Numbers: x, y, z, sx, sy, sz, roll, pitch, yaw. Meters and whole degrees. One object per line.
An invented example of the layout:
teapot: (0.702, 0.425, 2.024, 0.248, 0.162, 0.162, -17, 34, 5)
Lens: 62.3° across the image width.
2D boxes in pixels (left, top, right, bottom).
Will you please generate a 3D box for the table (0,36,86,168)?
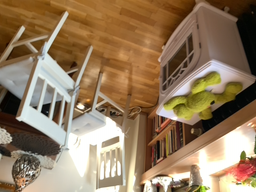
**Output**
table: (-0.800, 0.090, 1.820, 0.590, 0.740, 0.730, 16, 143, -12)

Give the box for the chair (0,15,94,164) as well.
chair: (-0.660, -0.050, 1.460, 0.560, 0.890, 0.400, -9, 141, 21)

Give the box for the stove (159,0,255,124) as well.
stove: (0.430, -0.230, 1.280, 0.290, 0.610, 0.440, 19, 142, -16)
